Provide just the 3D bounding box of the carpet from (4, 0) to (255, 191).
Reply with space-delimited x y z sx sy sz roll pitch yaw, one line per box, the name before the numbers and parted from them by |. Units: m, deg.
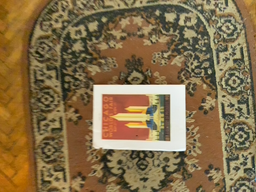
carpet | 0.000 0.150 0.700 0.800 0.060 1.120 -2 89 5
